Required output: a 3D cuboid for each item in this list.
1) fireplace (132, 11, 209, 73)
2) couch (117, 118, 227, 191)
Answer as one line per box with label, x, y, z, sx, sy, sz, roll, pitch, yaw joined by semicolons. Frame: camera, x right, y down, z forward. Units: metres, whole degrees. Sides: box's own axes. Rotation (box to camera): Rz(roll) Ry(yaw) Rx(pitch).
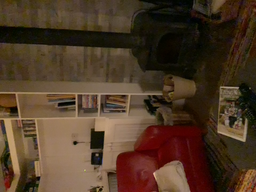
fireplace;0.410;-0.590;2.290;0.520;0.580;0.520;-113;26;-60
couch;0.360;0.760;2.200;0.780;0.790;0.790;110;157;-59
